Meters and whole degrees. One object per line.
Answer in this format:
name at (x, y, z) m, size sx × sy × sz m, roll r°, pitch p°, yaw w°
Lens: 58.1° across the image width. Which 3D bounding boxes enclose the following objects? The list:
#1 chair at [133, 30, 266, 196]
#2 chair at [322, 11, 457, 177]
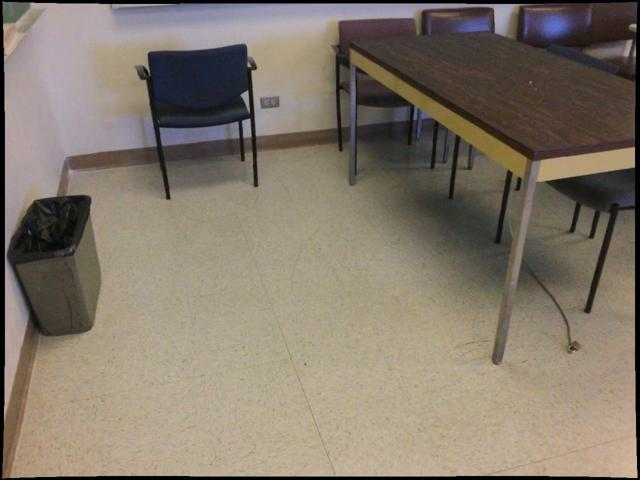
chair at (-0.638, -0.692, 3.060) m, size 0.559 × 0.681 × 0.550 m, roll -9°, pitch 31°, yaw -15°
chair at (0.359, -0.852, 3.290) m, size 0.539 × 0.751 × 0.580 m, roll -9°, pitch 31°, yaw -15°
